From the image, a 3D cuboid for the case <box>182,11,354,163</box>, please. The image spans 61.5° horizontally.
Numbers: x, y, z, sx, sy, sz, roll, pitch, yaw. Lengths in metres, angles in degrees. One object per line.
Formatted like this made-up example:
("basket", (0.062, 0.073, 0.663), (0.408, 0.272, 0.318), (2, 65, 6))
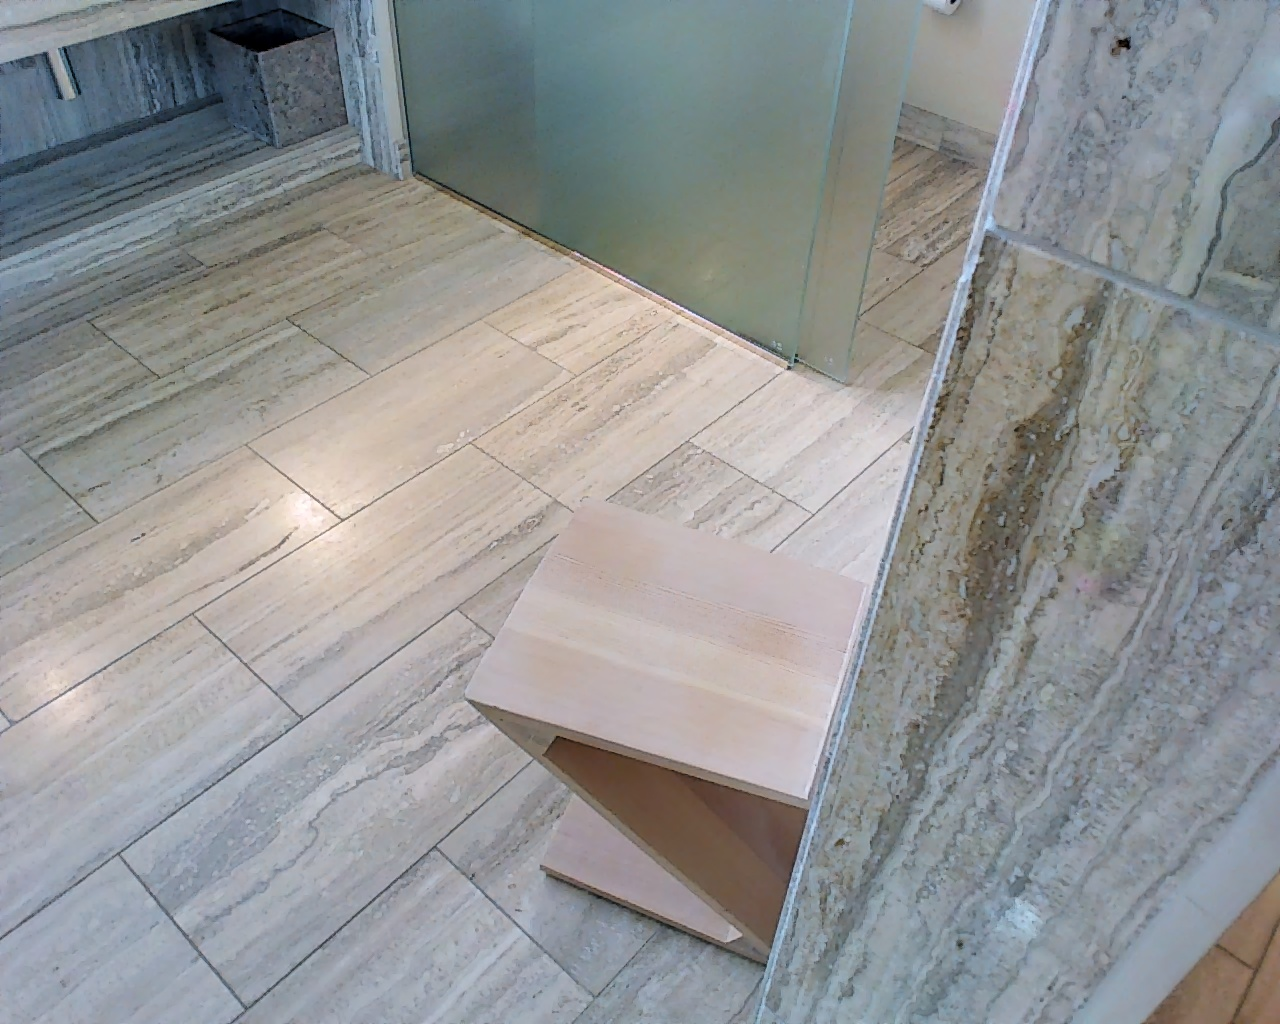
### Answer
("case", (-0.990, -1.140, 2.870), (0.390, 0.230, 0.220), (33, 51, 28))
